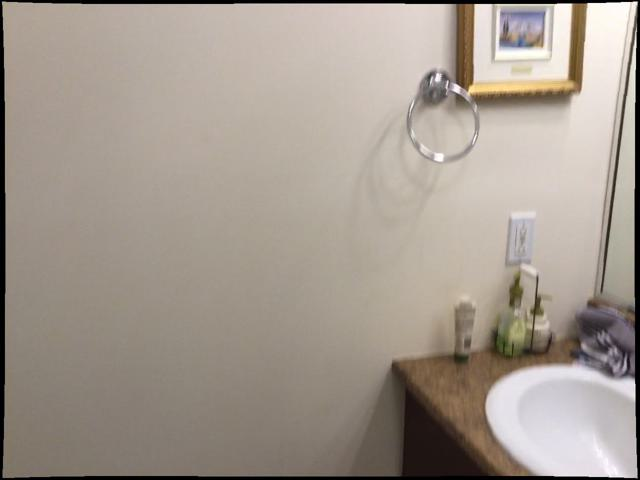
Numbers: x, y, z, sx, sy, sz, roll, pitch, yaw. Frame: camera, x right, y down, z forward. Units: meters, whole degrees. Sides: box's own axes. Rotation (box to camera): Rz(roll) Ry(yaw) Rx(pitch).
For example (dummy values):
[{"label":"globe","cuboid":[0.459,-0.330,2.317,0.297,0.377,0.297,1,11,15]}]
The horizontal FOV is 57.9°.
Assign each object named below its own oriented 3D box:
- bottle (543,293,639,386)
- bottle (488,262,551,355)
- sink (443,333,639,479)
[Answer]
[{"label":"bottle","cuboid":[0.659,0.220,1.340,0.140,0.110,0.240,-4,16,-17]},{"label":"bottle","cuboid":[0.470,0.160,1.370,0.090,0.190,0.090,-4,16,-17]},{"label":"sink","cuboid":[0.539,0.390,1.060,0.430,0.220,0.470,-4,16,-17]}]
